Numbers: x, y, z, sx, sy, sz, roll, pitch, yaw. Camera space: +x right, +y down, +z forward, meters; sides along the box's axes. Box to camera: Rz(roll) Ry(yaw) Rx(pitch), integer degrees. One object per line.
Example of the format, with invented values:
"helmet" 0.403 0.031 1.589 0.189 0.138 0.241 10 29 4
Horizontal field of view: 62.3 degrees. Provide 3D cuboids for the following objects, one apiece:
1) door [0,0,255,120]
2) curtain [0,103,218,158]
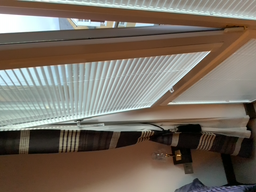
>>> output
"door" 0.270 -0.160 1.000 1.670 2.170 0.060 125 141 -66
"curtain" -0.320 0.270 1.580 0.550 1.850 0.240 128 138 -67
